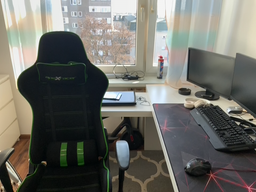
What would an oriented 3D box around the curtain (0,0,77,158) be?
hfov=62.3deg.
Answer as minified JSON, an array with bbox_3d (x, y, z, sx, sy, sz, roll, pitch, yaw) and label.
[{"bbox_3d":[-0.860,-0.590,1.850,0.570,2.430,0.420,1,22,-1],"label":"curtain"}]
